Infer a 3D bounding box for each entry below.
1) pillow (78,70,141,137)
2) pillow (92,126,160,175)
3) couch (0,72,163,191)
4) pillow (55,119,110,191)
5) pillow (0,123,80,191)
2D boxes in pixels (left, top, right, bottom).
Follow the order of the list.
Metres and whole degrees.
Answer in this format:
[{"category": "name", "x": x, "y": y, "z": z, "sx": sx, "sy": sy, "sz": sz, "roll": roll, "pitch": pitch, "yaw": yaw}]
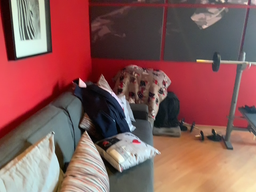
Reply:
[{"category": "pillow", "x": -0.160, "y": 0.040, "z": 2.330, "sx": 0.540, "sy": 0.500, "sz": 0.660, "roll": 3, "pitch": 19, "yaw": 6}, {"category": "pillow", "x": -0.020, "y": 0.420, "z": 1.740, "sx": 0.410, "sy": 0.110, "sz": 0.380, "roll": -13, "pitch": 24, "yaw": -37}, {"category": "couch", "x": -0.270, "y": 0.480, "z": 1.780, "sx": 0.980, "sy": 0.890, "sz": 2.030, "roll": 3, "pitch": 19, "yaw": 6}, {"category": "pillow", "x": -0.240, "y": 0.480, "z": 1.220, "sx": 0.160, "sy": 0.300, "sz": 0.670, "roll": -15, "pitch": 35, "yaw": 8}, {"category": "pillow", "x": -0.450, "y": 0.440, "z": 1.130, "sx": 0.240, "sy": 0.390, "sz": 0.520, "roll": 2, "pitch": 19, "yaw": 1}]
